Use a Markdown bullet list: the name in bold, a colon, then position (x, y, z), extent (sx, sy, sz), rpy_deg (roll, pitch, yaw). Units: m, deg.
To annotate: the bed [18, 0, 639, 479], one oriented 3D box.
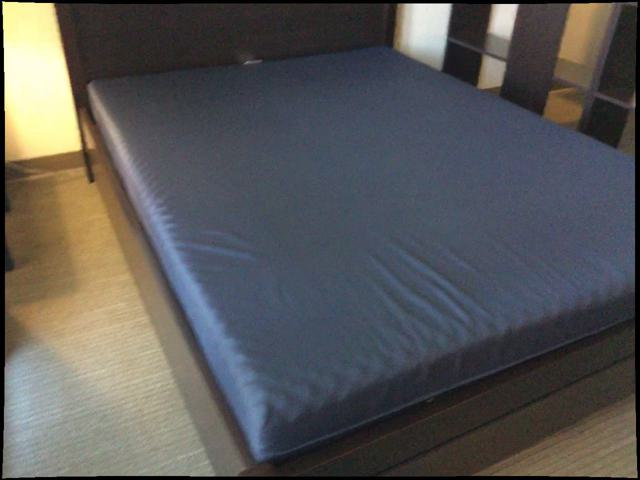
- **bed**: position (0.060, -0.391, 2.010), extent (1.777, 1.062, 2.220), rpy_deg (-15, 36, -22)
